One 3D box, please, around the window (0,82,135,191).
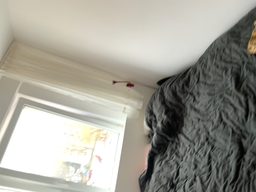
[{"bbox_3d":[-0.740,0.580,2.460,0.180,1.590,1.110,130,153,-56],"label":"window"}]
